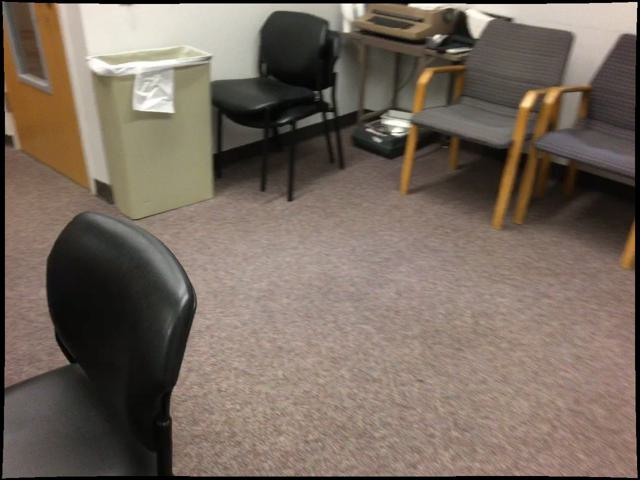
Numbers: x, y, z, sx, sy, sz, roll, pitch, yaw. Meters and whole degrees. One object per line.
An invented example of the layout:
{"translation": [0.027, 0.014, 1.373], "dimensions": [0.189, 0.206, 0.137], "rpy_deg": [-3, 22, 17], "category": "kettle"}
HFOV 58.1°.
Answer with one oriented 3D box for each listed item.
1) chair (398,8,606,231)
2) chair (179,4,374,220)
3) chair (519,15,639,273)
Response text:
{"translation": [0.938, -0.682, 3.060], "dimensions": [0.669, 0.872, 0.779], "rpy_deg": [23, 39, 35], "category": "chair"}
{"translation": [-0.219, -0.732, 3.130], "dimensions": [0.589, 0.882, 0.799], "rpy_deg": [26, 38, 33], "category": "chair"}
{"translation": [1.476, -0.491, 2.730], "dimensions": [0.579, 0.882, 0.789], "rpy_deg": [27, 44, 36], "category": "chair"}
